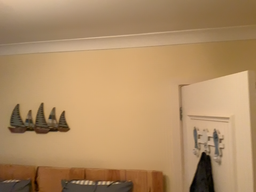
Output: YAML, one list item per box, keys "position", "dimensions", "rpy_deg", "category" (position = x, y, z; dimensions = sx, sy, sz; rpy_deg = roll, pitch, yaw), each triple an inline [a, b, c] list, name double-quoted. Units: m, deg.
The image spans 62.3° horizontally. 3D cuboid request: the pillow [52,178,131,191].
- position: [-0.290, 0.760, 1.620]
  dimensions: [0.610, 0.200, 0.090]
  rpy_deg: [-2, -30, 14]
  category: "pillow"
